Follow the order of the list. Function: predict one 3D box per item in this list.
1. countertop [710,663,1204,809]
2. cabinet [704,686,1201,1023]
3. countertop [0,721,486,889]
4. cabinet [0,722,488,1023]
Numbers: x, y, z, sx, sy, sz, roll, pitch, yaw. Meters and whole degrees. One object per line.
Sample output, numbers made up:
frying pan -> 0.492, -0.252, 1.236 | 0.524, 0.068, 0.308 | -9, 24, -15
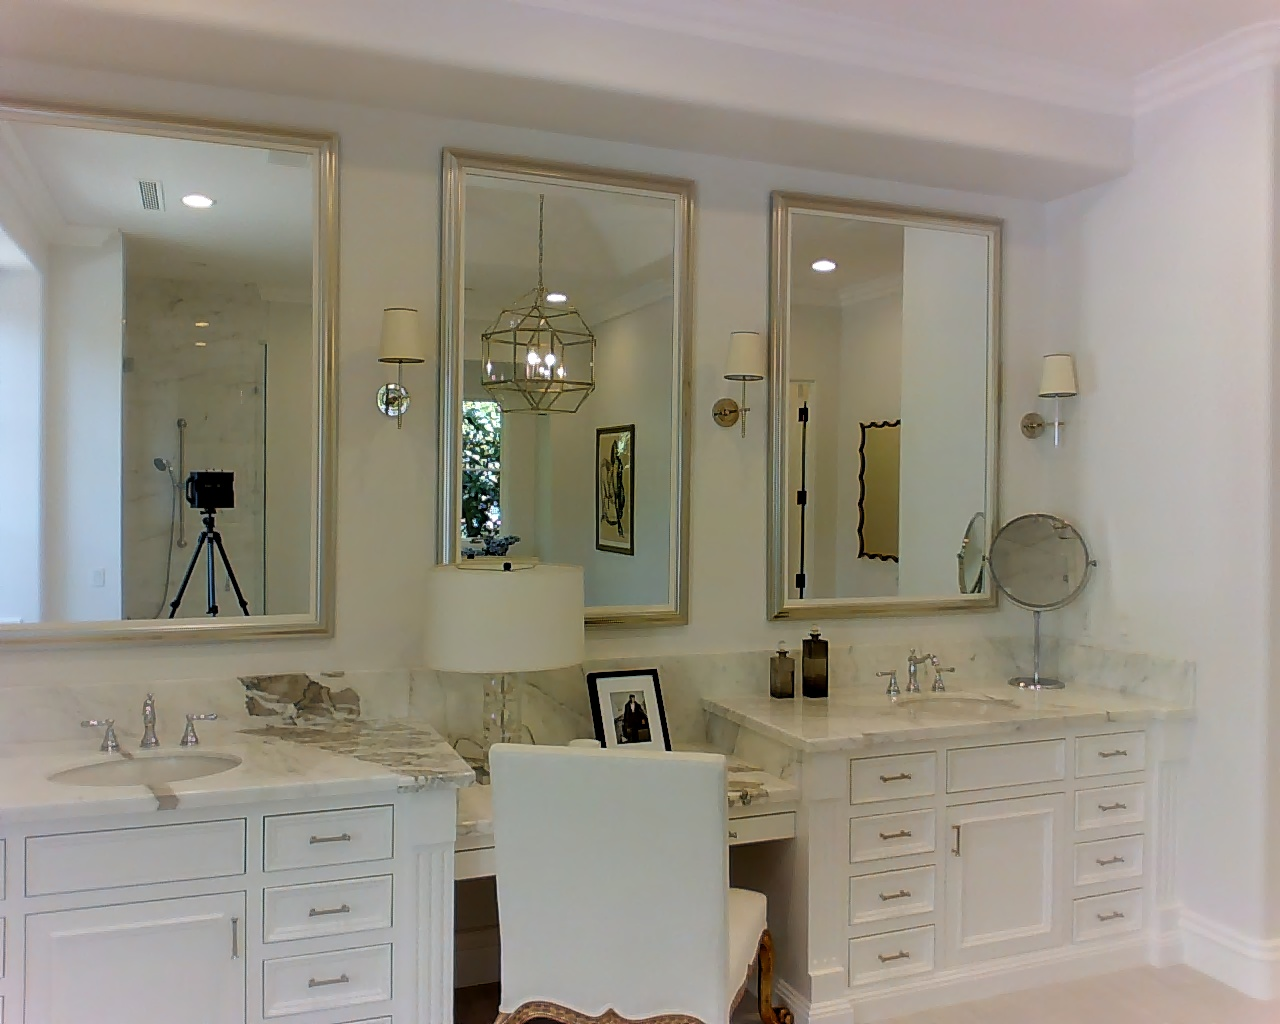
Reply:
countertop -> 1.090, 0.740, 3.740 | 1.520, 0.240, 0.730 | 0, 1, -21
cabinet -> 1.080, 1.160, 3.750 | 1.550, 0.900, 0.710 | 0, 1, -21
countertop -> -1.240, 0.750, 2.820 | 1.530, 0.150, 0.730 | 0, 1, -21
cabinet -> -1.250, 1.140, 2.850 | 1.550, 0.910, 0.740 | 0, 1, -21
